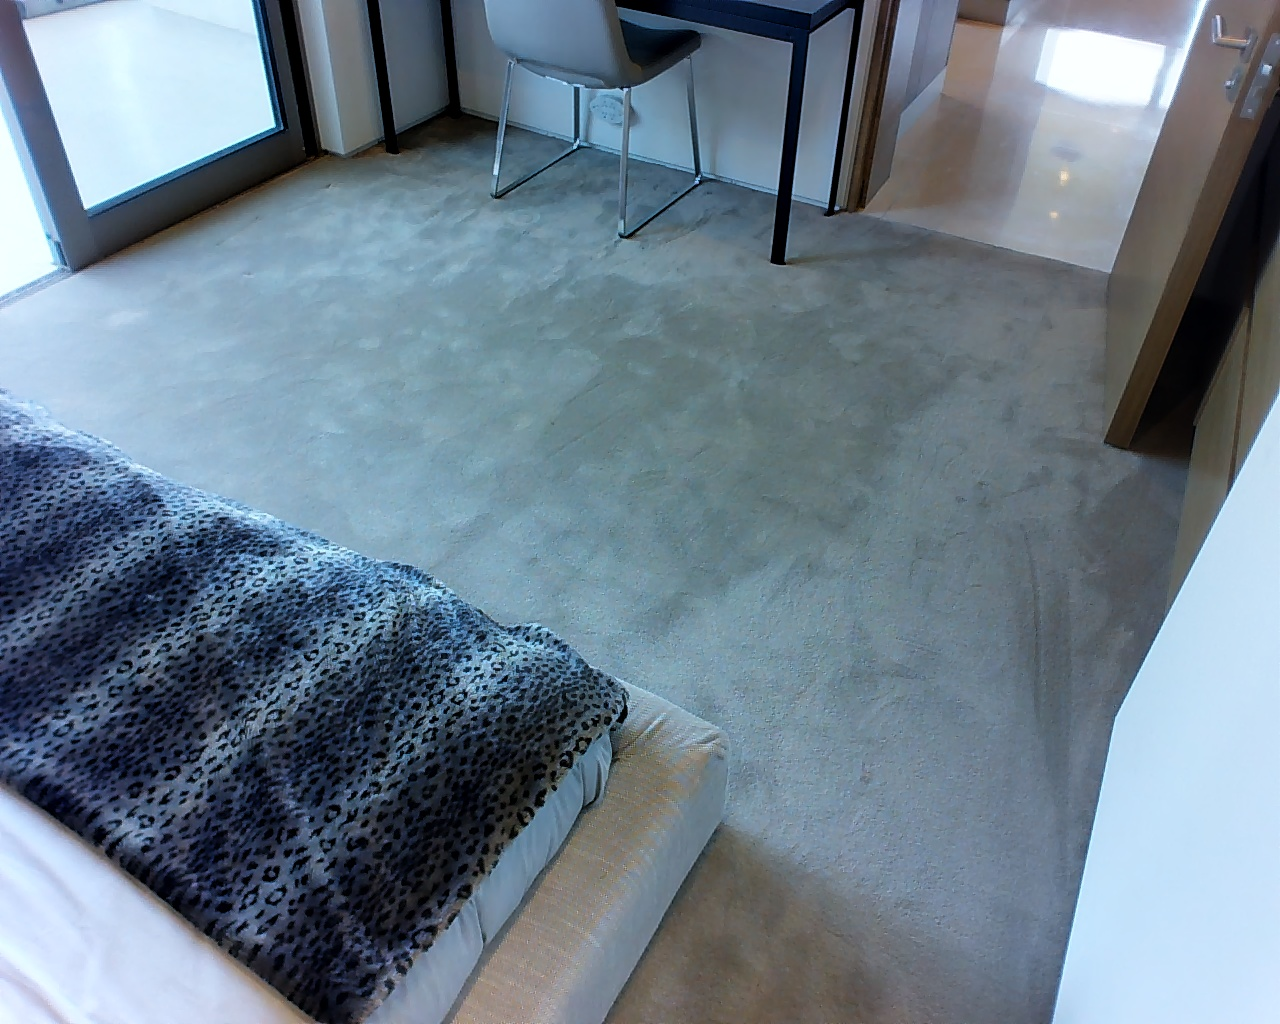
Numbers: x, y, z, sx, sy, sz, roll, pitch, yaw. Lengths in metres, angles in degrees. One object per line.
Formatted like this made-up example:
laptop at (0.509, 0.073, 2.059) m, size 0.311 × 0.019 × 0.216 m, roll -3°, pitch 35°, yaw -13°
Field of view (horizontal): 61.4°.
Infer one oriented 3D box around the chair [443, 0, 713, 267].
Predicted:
chair at (-0.170, -1.330, 3.300) m, size 0.560 × 0.850 × 0.610 m, roll 20°, pitch 44°, yaw 19°
